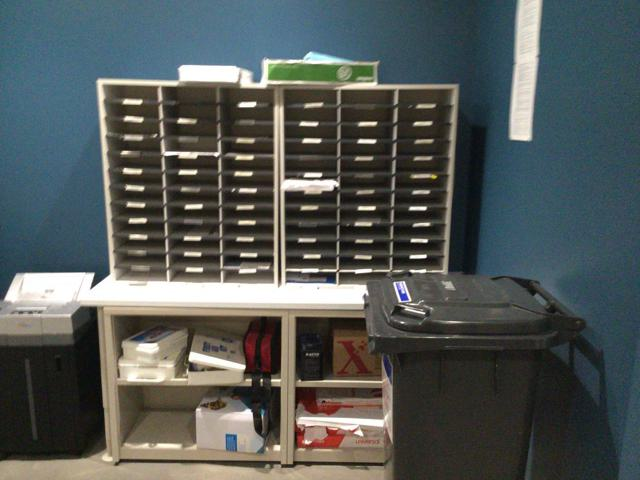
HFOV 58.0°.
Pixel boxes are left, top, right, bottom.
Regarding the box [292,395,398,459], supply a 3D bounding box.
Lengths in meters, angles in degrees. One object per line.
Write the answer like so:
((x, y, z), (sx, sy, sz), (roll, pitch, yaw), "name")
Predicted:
((0.100, 0.790, 2.450), (0.430, 0.200, 0.150), (2, 13, -1), "box")

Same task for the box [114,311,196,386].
((-0.700, 0.460, 2.500), (0.250, 0.180, 0.370), (2, 13, -1), "box")

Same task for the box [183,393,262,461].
((-0.410, 0.790, 2.450), (0.290, 0.190, 0.160), (4, 13, 9), "box")

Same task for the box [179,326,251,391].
((-0.440, 0.500, 2.480), (0.250, 0.140, 0.350), (2, 13, -1), "box")

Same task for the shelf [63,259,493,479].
((-0.170, 0.550, 2.540), (1.650, 0.790, 0.490), (2, 13, -1), "shelf")
